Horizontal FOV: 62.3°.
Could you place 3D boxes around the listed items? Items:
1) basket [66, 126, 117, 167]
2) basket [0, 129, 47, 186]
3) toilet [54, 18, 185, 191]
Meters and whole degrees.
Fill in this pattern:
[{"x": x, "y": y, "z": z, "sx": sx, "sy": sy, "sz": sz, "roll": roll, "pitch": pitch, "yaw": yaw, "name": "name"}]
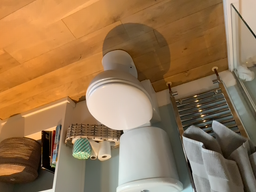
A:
[{"x": -0.250, "y": 0.370, "z": 1.520, "sx": 0.270, "sy": 0.150, "sz": 0.250, "roll": -15, "pitch": 141, "yaw": 11, "name": "basket"}, {"x": -0.910, "y": 0.490, "z": 1.680, "sx": 0.390, "sy": 0.300, "sz": 0.250, "roll": -15, "pitch": 141, "yaw": 11, "name": "basket"}, {"x": -0.010, "y": 0.110, "z": 1.300, "sx": 0.400, "sy": 0.810, "sz": 0.700, "roll": -18, "pitch": 140, "yaw": 14, "name": "toilet"}]
